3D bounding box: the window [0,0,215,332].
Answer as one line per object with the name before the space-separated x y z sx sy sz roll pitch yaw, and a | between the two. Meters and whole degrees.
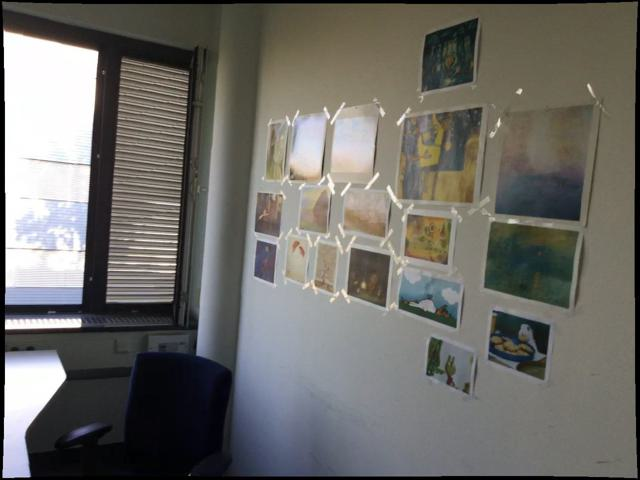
window | -2.338 -0.501 2.760 3.647 1.962 0.300 0 8 -30
